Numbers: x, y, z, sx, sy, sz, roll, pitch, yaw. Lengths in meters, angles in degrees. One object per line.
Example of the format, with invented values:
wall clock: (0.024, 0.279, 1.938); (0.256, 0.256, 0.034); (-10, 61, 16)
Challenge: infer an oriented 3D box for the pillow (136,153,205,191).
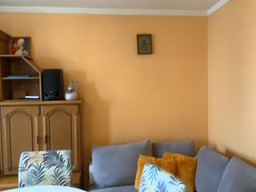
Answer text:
pillow: (0.450, 0.870, 2.350); (0.640, 0.280, 0.350); (10, 1, -6)
